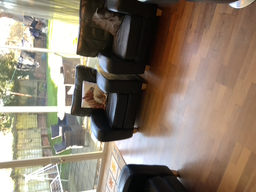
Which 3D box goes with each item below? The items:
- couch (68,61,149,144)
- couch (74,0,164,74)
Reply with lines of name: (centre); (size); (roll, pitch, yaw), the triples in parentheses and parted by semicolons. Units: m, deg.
couch: (-0.370, 0.050, 3.250); (0.970, 0.850, 0.900); (-139, 54, -58)
couch: (-0.190, -0.890, 2.920); (0.870, 0.850, 0.930); (-139, 54, -58)
